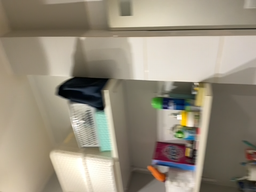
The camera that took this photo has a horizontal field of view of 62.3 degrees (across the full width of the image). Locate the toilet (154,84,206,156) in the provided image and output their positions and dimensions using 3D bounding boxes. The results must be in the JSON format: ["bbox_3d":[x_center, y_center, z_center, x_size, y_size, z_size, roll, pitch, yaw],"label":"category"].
[{"bbox_3d":[0.230,0.110,0.970,0.130,0.200,0.290,-64,-26,-56],"label":"toilet"}]
